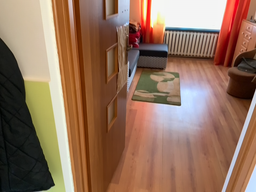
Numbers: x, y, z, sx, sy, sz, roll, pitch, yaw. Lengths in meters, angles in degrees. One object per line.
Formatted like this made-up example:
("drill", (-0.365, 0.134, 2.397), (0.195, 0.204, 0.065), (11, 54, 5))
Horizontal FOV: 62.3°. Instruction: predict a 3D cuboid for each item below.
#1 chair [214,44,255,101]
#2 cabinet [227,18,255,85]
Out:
("chair", (2.050, -0.420, 3.600), (0.760, 0.760, 0.600), (-4, 28, -12))
("cabinet", (2.470, -0.940, 4.300), (0.380, 1.060, 1.090), (6, 28, 8))
